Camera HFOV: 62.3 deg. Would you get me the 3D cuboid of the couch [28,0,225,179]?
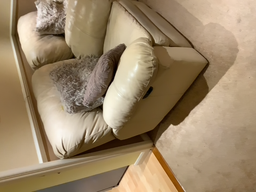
[{"bbox_3d":[-0.180,-0.210,1.770,1.110,0.960,1.050,56,135,37],"label":"couch"}]
